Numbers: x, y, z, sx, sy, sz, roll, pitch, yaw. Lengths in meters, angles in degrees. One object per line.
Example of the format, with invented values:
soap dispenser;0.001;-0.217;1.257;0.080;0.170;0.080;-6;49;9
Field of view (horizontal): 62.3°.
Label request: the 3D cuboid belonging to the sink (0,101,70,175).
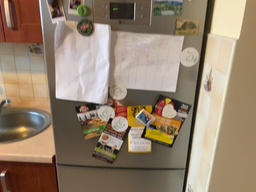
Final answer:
sink;-0.680;0.220;1.290;0.490;0.190;0.490;3;20;2
